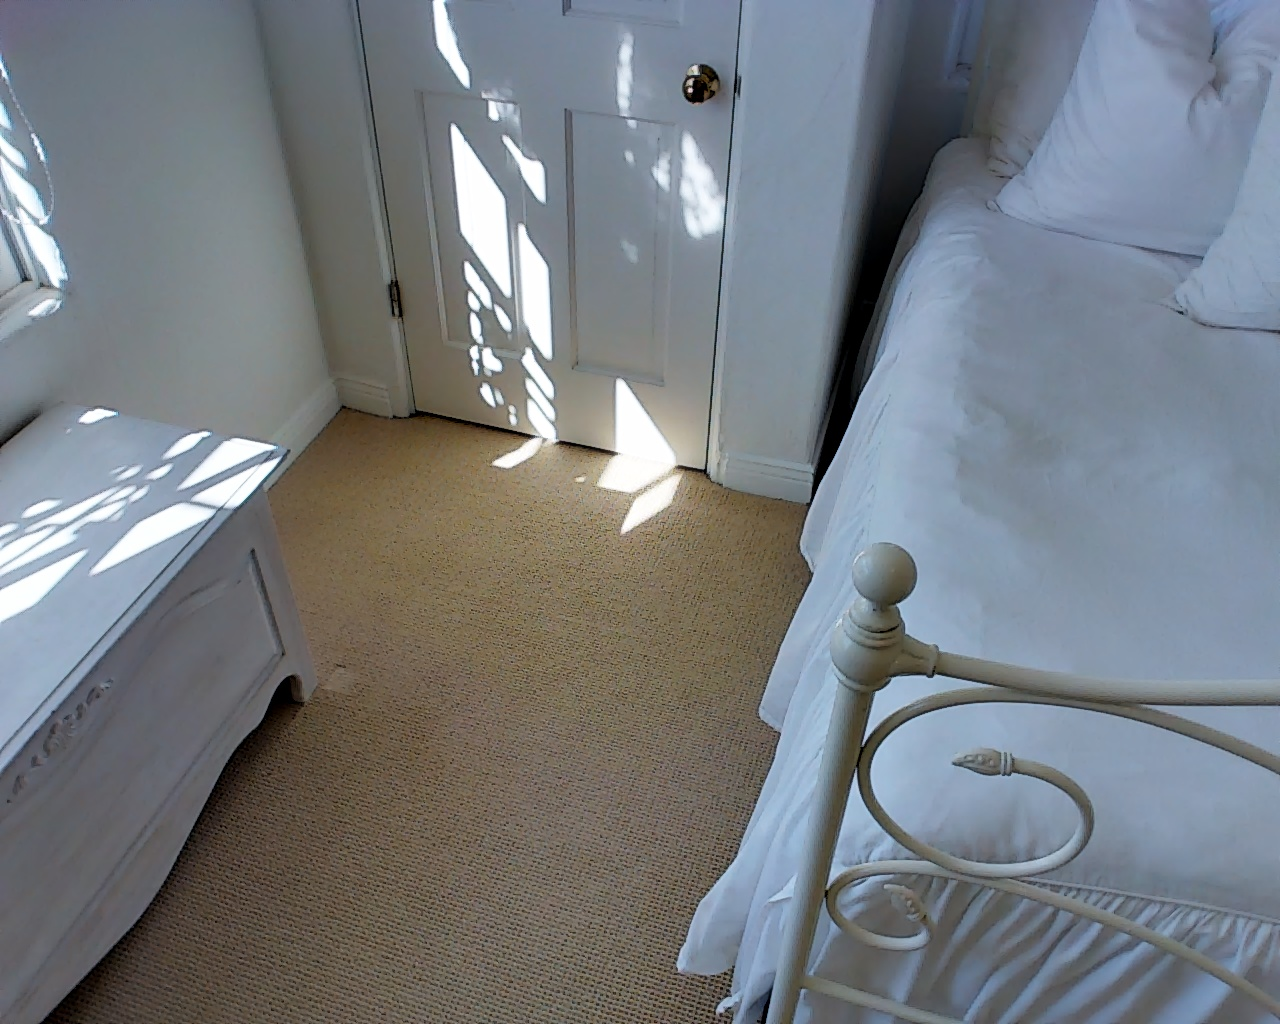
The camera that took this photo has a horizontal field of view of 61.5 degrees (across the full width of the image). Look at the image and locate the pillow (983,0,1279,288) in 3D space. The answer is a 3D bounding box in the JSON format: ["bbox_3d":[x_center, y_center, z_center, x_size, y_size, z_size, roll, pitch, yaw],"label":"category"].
[{"bbox_3d":[0.960,-0.700,1.900,0.570,0.490,0.200,12,43,13],"label":"pillow"}]

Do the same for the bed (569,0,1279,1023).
[{"bbox_3d":[1.020,0.100,1.540,1.760,1.100,1.680,11,42,11],"label":"bed"}]

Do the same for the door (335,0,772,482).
[{"bbox_3d":[-0.180,-0.960,1.990,0.850,2.080,0.060,12,43,13],"label":"door"}]
